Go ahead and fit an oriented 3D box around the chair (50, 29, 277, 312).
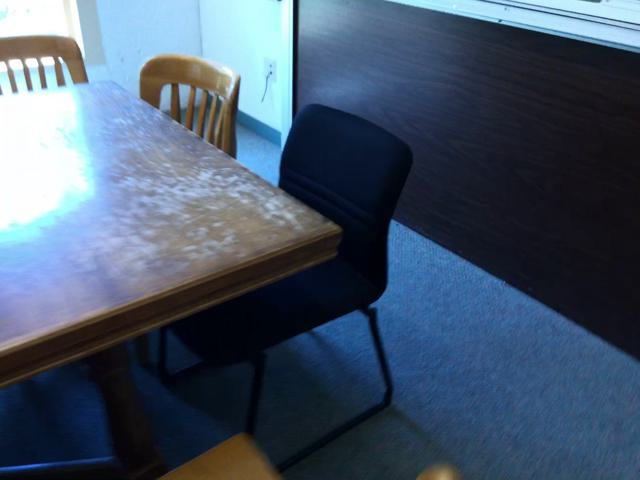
[{"bbox_3d":[-0.560,-0.280,2.050,0.470,0.740,0.620,-19,40,-37],"label":"chair"}]
